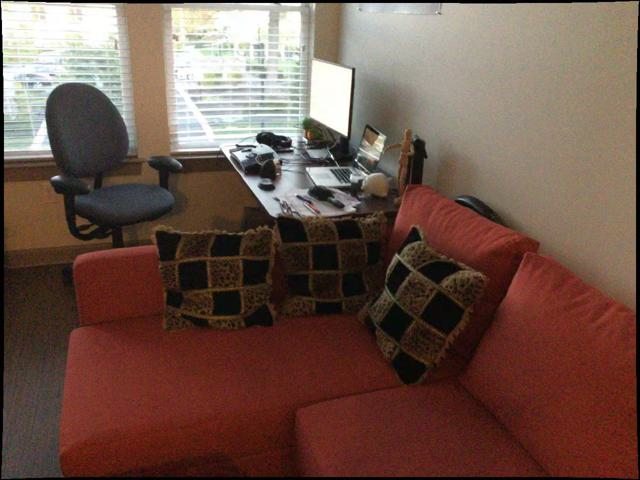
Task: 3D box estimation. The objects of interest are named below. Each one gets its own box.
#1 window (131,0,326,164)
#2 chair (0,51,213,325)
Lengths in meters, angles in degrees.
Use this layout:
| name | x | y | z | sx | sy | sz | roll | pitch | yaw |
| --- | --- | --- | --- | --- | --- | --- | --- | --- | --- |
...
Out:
| name | x | y | z | sx | sy | sz | roll | pitch | yaw |
| --- | --- | --- | --- | --- | --- | --- | --- | --- | --- |
| window | -0.519 | -1.413 | 3.280 | 1.068 | 1.844 | 0.300 | -8 | 25 | -17 |
| chair | -1.187 | -0.341 | 2.970 | 0.829 | 1.082 | 0.840 | 16 | 29 | 31 |
